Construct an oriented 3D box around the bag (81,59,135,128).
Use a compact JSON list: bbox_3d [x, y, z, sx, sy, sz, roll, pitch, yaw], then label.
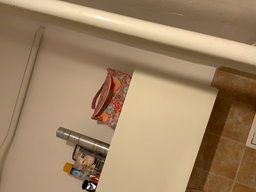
[{"bbox_3d":[-0.100,-0.010,1.160,0.180,0.170,0.310,17,-89,-80],"label":"bag"}]
